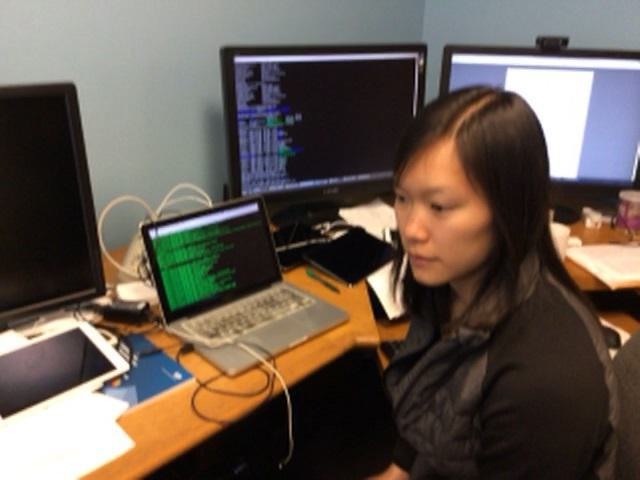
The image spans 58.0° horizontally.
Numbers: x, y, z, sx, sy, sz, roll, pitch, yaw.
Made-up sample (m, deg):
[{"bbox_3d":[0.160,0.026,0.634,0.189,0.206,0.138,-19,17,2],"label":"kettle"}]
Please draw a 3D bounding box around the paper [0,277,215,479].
[{"bbox_3d":[-0.540,0.250,0.950,0.520,0.070,0.510,19,29,39],"label":"paper"}]

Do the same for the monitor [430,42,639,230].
[{"bbox_3d":[0.670,-0.320,1.780,0.610,0.540,0.130,3,22,8],"label":"monitor"}]

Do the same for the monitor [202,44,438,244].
[{"bbox_3d":[0.010,-0.310,1.730,0.640,0.500,0.210,-10,24,-24],"label":"monitor"}]
